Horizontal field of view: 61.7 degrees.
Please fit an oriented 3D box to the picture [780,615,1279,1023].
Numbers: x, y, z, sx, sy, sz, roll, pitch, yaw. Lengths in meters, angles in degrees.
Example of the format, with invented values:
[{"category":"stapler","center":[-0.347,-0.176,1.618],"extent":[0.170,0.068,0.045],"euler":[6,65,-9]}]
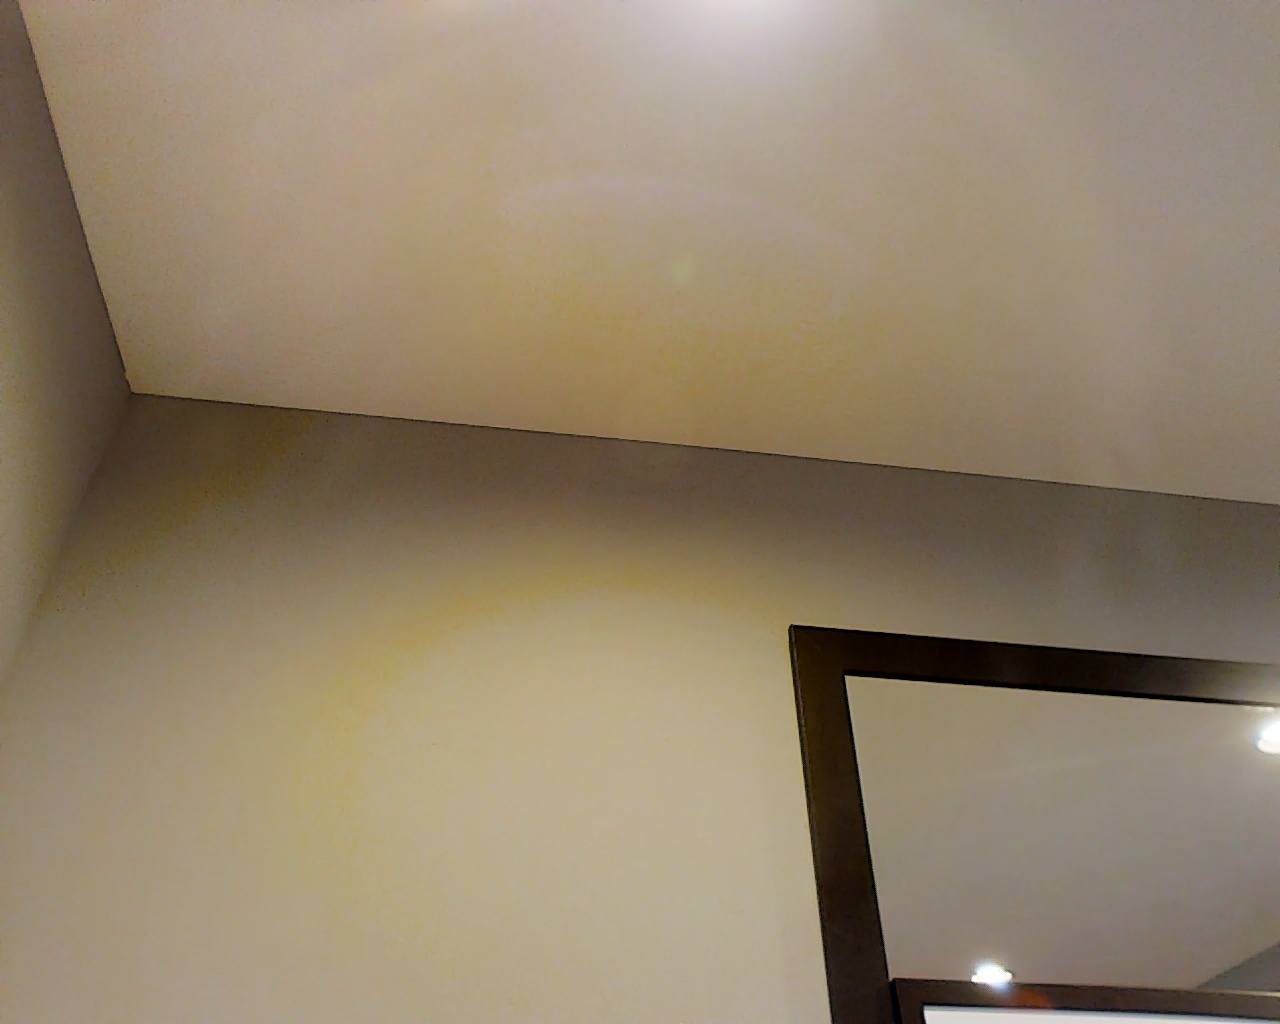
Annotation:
[{"category":"picture","center":[0.900,0.750,1.330],"extent":[1.360,1.330,0.060],"euler":[6,-41,-7]}]
